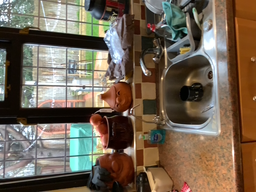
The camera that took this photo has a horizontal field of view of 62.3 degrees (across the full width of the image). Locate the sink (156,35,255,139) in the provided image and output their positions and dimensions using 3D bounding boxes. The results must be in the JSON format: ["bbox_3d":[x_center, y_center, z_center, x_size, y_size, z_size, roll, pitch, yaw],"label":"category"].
[{"bbox_3d":[0.360,-0.020,1.120,0.520,0.190,0.420,168,101,-69],"label":"sink"}]
